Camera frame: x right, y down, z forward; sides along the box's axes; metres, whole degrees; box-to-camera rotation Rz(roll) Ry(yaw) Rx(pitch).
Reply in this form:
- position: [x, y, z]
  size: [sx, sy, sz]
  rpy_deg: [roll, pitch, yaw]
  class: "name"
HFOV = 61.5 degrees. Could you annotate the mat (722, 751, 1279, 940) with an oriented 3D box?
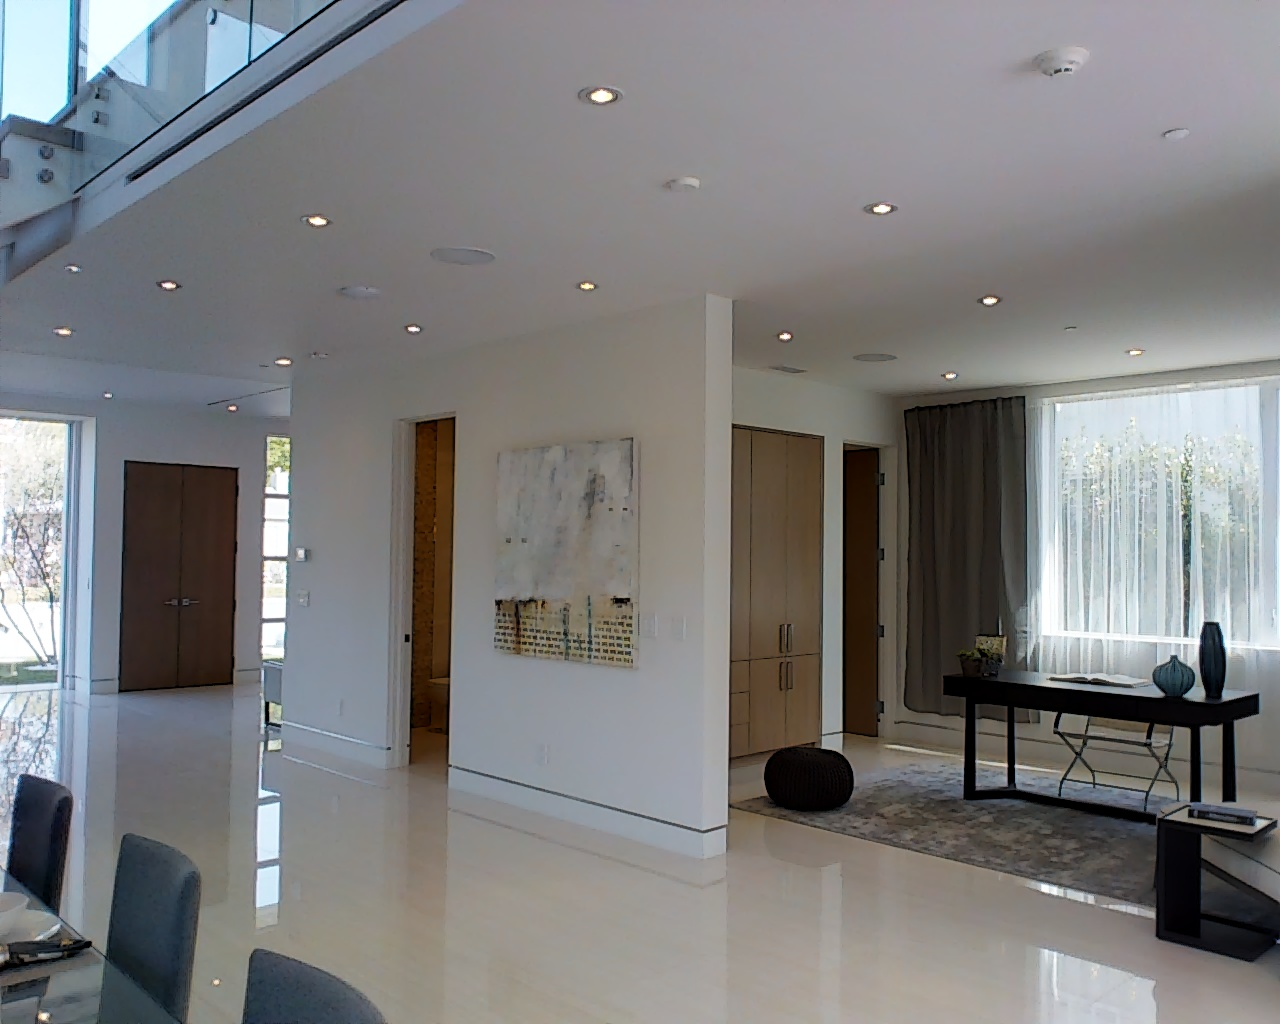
- position: [2.489, 1.761, 6.130]
  size: [2.389, 0.060, 3.269]
  rpy_deg: [3, -3, -44]
  class: "mat"
